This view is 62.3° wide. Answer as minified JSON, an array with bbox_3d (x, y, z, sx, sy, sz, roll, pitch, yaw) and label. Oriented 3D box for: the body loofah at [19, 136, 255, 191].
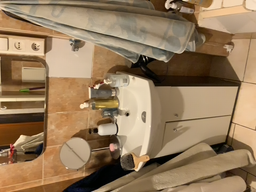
[{"bbox_3d":[0.160,0.490,1.090,0.340,1.260,0.280,35,120,53],"label":"body loofah"}]
